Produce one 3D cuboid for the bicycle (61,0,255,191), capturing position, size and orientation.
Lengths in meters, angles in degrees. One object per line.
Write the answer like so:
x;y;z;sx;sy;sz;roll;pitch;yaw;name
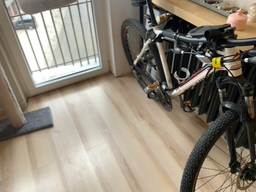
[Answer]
0.210;-0.140;1.520;0.860;1.030;1.210;-21;45;-21;bicycle
